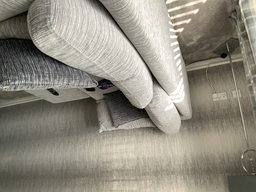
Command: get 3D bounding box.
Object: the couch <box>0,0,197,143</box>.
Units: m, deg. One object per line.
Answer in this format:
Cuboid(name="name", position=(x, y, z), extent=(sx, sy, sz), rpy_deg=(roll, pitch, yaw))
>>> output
Cuboid(name="couch", position=(-0.180, -0.250, 1.650), extent=(1.060, 0.860, 2.140), rpy_deg=(-10, 158, 20))
